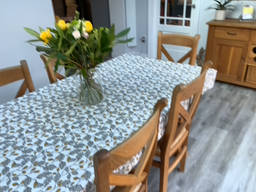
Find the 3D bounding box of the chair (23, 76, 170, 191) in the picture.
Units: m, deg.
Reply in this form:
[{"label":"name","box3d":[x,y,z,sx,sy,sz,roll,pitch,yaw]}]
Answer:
[{"label":"chair","box3d":[-0.120,0.450,1.170,0.490,0.940,0.430,18,34,32]}]

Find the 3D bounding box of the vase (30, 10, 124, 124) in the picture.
[{"label":"vase","box3d":[-0.300,-0.210,1.270,0.370,0.500,0.450,-16,32,-24]}]

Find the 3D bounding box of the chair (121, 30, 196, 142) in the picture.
[{"label":"chair","box3d":[0.300,-0.120,2.180,0.480,0.940,0.510,21,36,34]}]
